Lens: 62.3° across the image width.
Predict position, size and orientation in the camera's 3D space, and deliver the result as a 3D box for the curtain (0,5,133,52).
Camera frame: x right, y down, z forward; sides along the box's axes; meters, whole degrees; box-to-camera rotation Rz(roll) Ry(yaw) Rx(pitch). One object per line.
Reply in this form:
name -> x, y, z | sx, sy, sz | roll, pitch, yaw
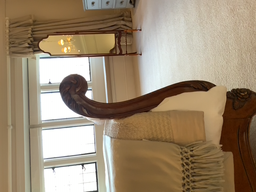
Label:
curtain -> -1.120, -1.270, 3.950 | 0.290, 2.350, 0.730 | 134, 131, -79
